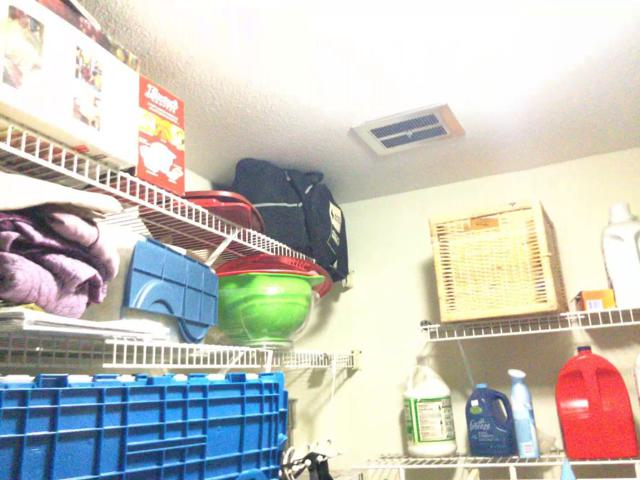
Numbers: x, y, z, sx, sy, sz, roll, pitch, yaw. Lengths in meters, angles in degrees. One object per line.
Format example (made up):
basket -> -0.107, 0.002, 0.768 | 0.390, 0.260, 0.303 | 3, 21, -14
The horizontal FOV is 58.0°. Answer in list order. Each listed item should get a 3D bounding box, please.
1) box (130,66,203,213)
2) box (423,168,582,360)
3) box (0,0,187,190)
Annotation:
box -> -0.310, -0.200, 1.190 | 0.030, 0.250, 0.180 | -9, -16, 24
box -> 0.550, 0.100, 1.730 | 0.350, 0.480, 0.360 | -9, -16, 24
box -> -0.400, -0.270, 0.950 | 0.130, 0.250, 0.400 | -9, -16, 24
